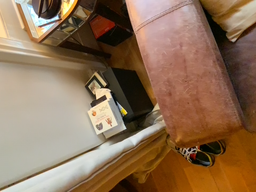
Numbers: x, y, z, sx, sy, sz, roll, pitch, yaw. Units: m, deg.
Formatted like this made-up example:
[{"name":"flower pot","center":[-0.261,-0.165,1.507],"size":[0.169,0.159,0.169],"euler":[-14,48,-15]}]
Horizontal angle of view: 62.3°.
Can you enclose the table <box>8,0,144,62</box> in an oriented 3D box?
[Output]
[{"name":"table","center":[-0.270,-0.520,1.150],"size":[0.360,0.590,0.490],"euler":[-27,81,24]}]
